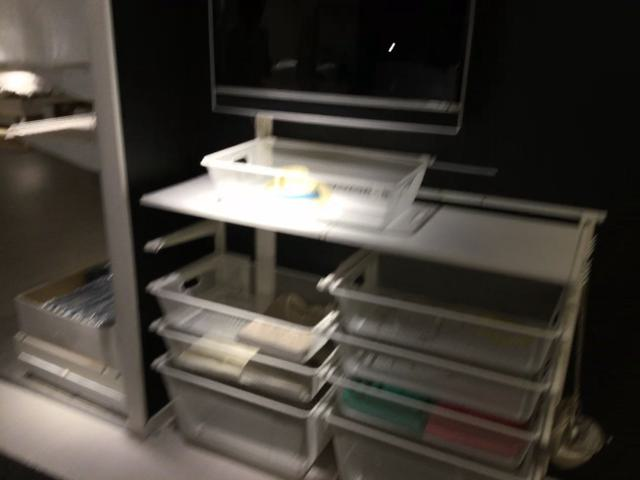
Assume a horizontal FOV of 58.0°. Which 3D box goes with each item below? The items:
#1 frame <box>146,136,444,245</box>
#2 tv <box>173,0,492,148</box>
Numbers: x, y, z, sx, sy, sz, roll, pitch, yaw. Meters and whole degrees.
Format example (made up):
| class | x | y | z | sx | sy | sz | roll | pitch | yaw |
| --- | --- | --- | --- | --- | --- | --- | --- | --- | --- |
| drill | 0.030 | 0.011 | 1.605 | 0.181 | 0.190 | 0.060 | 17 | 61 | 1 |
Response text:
| class | x | y | z | sx | sy | sz | roll | pitch | yaw |
| --- | --- | --- | --- | --- | --- | --- | --- | --- | --- |
| frame | -0.070 | -0.180 | 1.730 | 0.760 | 0.170 | 0.440 | 9 | 19 | 27 |
| tv | 0.000 | -0.650 | 1.680 | 0.940 | 0.680 | 0.180 | 9 | 19 | 27 |
